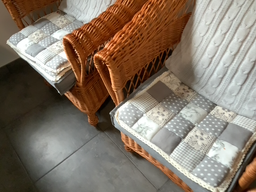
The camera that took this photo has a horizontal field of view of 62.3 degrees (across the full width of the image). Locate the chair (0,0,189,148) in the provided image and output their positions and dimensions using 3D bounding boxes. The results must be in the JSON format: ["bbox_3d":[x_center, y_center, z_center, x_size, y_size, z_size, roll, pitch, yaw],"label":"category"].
[{"bbox_3d":[-0.190,-0.380,1.180,0.680,0.830,0.800,34,61,27],"label":"chair"}]

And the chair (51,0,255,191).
[{"bbox_3d":[0.350,-0.050,0.860,0.680,0.850,0.780,34,61,27],"label":"chair"}]
